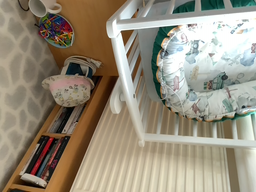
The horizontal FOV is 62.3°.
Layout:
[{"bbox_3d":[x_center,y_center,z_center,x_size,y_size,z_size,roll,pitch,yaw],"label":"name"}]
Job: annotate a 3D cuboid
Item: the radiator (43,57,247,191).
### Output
[{"bbox_3d":[0.120,0.140,1.010,0.670,0.830,0.190,0,133,17],"label":"radiator"}]
